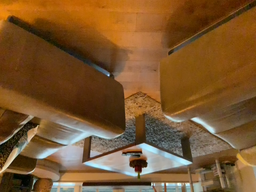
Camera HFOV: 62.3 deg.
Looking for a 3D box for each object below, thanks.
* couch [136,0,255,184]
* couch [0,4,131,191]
[{"bbox_3d":[1.110,0.100,1.710,1.160,0.790,1.780,-28,139,35],"label":"couch"},{"bbox_3d":[-0.990,0.290,1.930,1.680,0.780,1.150,-29,139,36],"label":"couch"}]
